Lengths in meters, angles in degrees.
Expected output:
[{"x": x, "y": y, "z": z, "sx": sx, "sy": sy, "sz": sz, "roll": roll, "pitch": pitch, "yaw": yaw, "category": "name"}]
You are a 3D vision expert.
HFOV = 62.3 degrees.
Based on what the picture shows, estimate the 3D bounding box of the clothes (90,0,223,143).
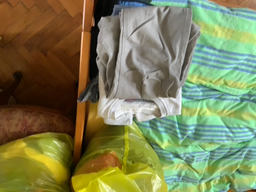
[{"x": 0.050, "y": -0.070, "z": 0.690, "sx": 0.320, "sy": 0.160, "sz": 0.430, "roll": 3, "pitch": 119, "yaw": -8, "category": "clothes"}]

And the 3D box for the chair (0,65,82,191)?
[{"x": -0.460, "y": 0.280, "z": 0.960, "sx": 0.380, "sy": 0.860, "sz": 0.500, "roll": 7, "pitch": 119, "yaw": -10, "category": "chair"}]
